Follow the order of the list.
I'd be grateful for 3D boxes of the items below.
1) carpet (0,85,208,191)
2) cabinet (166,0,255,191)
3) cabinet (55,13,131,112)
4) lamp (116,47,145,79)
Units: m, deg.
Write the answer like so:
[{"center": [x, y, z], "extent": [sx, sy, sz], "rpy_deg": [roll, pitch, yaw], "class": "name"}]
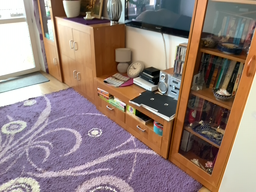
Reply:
[{"center": [-0.750, 0.510, 2.010], "extent": [1.610, 0.050, 2.390], "rpy_deg": [-22, 36, -38], "class": "carpet"}, {"center": [0.740, -0.260, 1.500], "extent": [0.540, 2.040, 0.470], "rpy_deg": [-20, 35, -36], "class": "cabinet"}, {"center": [-0.500, -0.520, 2.970], "extent": [0.530, 1.070, 0.970], "rpy_deg": [-20, 35, -36], "class": "cabinet"}, {"center": [0.020, -0.410, 2.580], "extent": [0.200, 0.290, 0.290], "rpy_deg": [-18, 34, -33], "class": "lamp"}]
